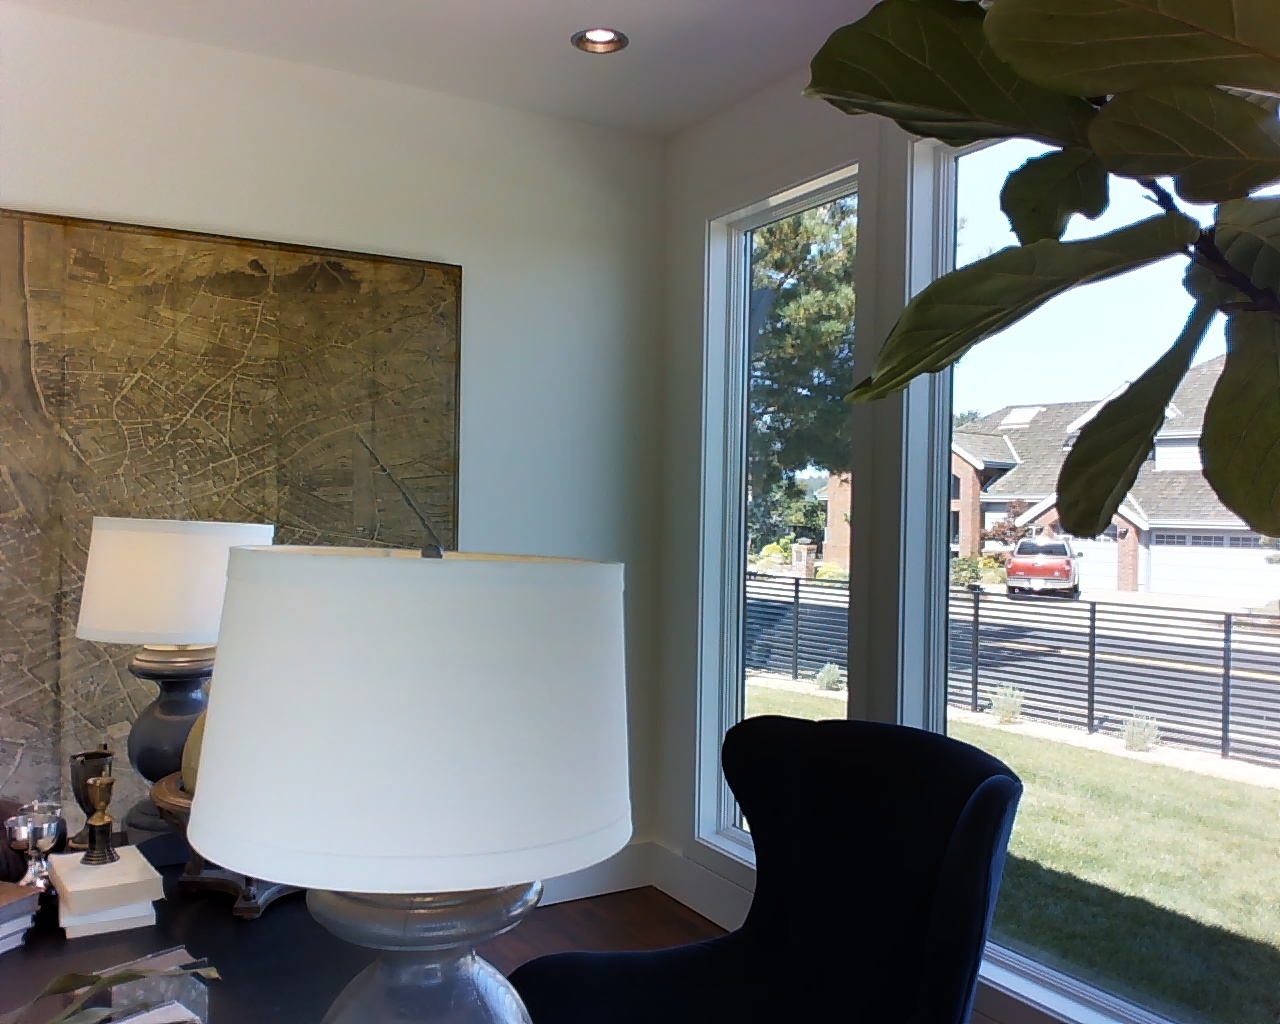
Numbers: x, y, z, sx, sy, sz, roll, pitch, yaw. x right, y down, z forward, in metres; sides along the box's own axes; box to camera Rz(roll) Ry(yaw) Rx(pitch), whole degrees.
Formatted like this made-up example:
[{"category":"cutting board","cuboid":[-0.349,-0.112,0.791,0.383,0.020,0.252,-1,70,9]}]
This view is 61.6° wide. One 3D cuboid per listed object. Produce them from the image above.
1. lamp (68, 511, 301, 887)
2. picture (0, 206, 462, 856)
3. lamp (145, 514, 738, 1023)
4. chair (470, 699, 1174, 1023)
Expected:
[{"category":"lamp","cuboid":[-0.970,0.350,2.270,0.400,0.700,0.390,1,0,-30]},{"category":"picture","cuboid":[-1.750,0.060,3.280,2.510,1.920,0.050,1,0,-30]},{"category":"lamp","cuboid":[-0.200,0.370,0.980,0.410,0.730,0.400,1,0,-32]},{"category":"chair","cuboid":[0.290,1.000,2.050,0.980,1.070,0.890,1,0,-28]}]
